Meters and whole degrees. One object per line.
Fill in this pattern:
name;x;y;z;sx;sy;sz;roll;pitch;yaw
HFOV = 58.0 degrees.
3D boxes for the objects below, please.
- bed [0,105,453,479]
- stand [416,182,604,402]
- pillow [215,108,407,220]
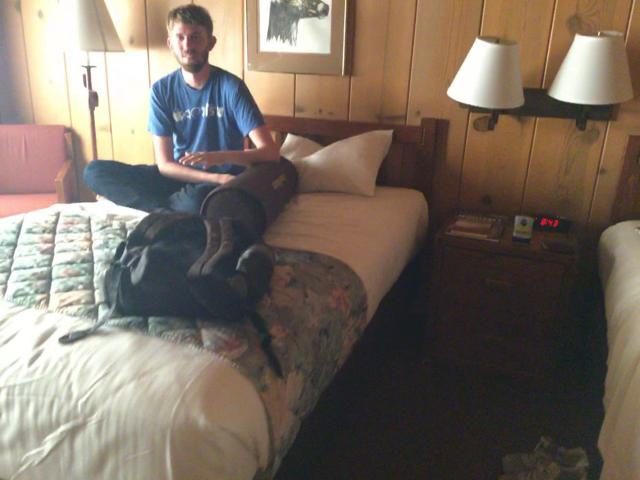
bed;-0.490;0.100;2.090;1.490;0.850;1.890;10;21;21
stand;0.770;0.180;2.390;0.590;0.690;0.450;10;21;20
pillow;-0.030;-0.360;2.540;0.700;0.330;0.460;10;21;20
